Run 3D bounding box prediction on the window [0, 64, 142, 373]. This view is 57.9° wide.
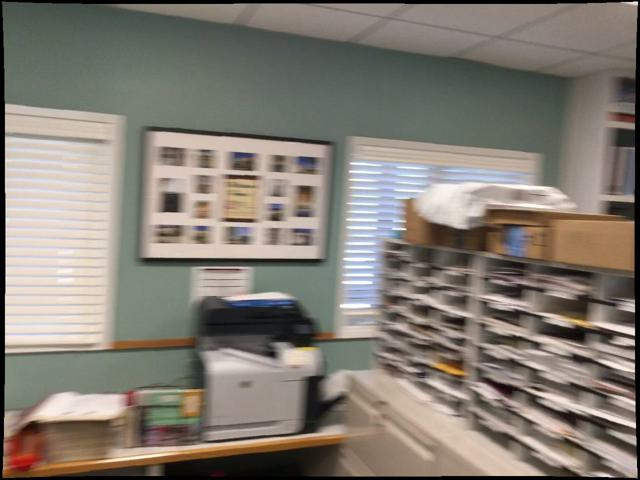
[{"bbox_3d":[-1.309,-0.080,2.570,0.919,1.321,0.140,3,3,-20],"label":"window"}]

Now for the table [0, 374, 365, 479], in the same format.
[{"bbox_3d":[-1.109,1.061,2.350,2.518,0.791,0.570,3,3,-20],"label":"table"}]
